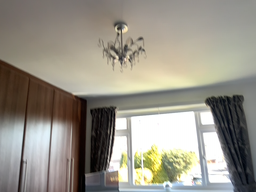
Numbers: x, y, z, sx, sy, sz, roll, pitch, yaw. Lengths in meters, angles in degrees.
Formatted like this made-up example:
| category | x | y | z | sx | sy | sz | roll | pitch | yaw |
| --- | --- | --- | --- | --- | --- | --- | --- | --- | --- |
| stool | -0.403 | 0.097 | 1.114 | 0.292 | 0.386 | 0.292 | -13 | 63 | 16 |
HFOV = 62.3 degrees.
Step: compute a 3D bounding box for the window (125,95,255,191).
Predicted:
| category | x | y | z | sx | sy | sz | roll | pitch | yaw |
| --- | --- | --- | --- | --- | --- | --- | --- | --- | --- |
| window | 0.900 | 0.800 | 3.520 | 1.900 | 1.410 | 0.220 | -7 | -16 | 19 |
